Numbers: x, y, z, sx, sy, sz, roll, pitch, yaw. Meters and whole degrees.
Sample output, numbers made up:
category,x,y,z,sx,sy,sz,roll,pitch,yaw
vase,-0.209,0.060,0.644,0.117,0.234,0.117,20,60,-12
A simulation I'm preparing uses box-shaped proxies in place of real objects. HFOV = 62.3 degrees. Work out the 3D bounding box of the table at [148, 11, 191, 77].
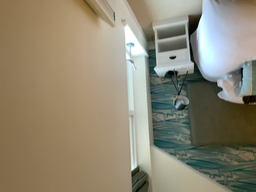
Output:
category,x,y,z,sx,sy,sz,roll,pitch,yaw
table,0.550,-0.630,2.730,0.440,0.610,0.540,-5,171,17
